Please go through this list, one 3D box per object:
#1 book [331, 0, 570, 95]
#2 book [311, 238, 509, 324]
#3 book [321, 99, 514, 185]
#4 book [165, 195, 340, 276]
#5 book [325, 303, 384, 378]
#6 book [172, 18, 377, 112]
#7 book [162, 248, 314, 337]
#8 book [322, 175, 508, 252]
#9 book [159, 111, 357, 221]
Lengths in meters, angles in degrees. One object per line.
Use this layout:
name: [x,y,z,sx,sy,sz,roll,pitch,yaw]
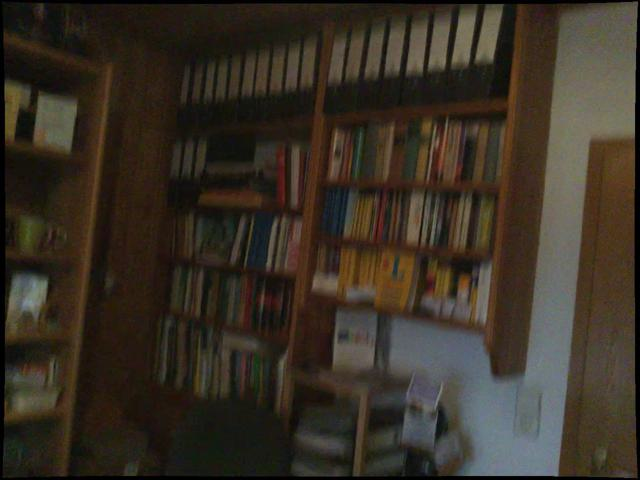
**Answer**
book: [0.420,-0.661,1.960,0.700,0.210,0.320,8,0,41]
book: [0.290,0.130,1.980,0.620,0.190,0.240,8,0,41]
book: [0.300,-0.320,1.930,0.630,0.230,0.140,8,0,41]
book: [-0.310,-0.030,2.450,0.770,0.250,0.260,8,0,41]
book: [0.130,0.370,2.150,0.180,0.240,0.080,8,0,10]
book: [-0.220,-0.701,2.420,0.870,0.210,0.320,8,0,41]
book: [-0.370,0.200,2.410,0.770,0.240,0.130,8,0,41]
book: [0.290,-0.100,1.930,0.640,0.200,0.090,8,0,41]
book: [-0.290,-0.310,2.450,0.840,0.360,0.310,8,0,41]
